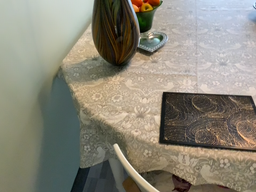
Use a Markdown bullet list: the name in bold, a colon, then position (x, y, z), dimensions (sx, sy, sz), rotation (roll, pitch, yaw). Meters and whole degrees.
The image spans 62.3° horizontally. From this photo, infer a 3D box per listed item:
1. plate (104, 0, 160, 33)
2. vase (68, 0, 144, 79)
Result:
- **plate**: position (0.030, -0.450, 1.120), dimensions (0.250, 0.150, 0.190), rotation (5, 42, 13)
- **vase**: position (-0.060, -0.240, 0.810), dimensions (0.210, 0.290, 0.170), rotation (5, 42, 13)
